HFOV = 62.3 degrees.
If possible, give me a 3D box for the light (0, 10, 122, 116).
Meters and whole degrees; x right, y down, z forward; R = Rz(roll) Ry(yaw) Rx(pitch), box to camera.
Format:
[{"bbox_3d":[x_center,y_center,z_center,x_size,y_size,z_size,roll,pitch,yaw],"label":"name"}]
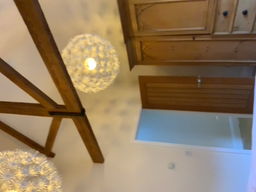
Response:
[{"bbox_3d":[-1.280,-0.440,3.520,1.090,2.080,1.380,28,-115,-75],"label":"light"}]
